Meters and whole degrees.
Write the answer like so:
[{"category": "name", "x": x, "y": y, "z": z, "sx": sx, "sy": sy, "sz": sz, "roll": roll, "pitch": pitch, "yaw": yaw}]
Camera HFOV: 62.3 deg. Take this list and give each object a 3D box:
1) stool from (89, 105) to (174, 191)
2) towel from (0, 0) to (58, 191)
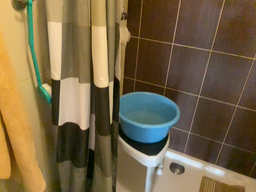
[{"category": "stool", "x": 0.030, "y": 0.430, "z": 1.470, "sx": 0.400, "sy": 0.490, "sz": 0.450, "roll": 15, "pitch": 32, "yaw": 17}, {"category": "towel", "x": -0.430, "y": 0.010, "z": 0.640, "sx": 0.170, "sy": 1.020, "sz": 0.290, "roll": 18, "pitch": 33, "yaw": 22}]
